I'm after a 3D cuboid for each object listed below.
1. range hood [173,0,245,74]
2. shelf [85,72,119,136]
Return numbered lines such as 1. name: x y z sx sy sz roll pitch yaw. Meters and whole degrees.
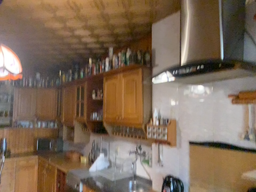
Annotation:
1. range hood: 0.600 -0.530 1.610 0.320 0.650 0.380 4 -6 -35
2. shelf: -0.390 0.130 3.140 0.290 0.870 0.430 4 -6 -39
